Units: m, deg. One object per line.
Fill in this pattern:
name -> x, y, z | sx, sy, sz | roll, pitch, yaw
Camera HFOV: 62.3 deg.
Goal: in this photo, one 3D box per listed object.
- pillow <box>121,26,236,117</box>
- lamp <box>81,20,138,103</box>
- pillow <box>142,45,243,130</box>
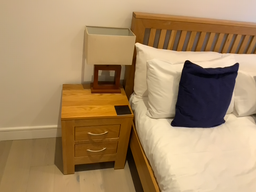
pillow -> 0.370, -0.150, 1.620 | 0.700, 0.470, 0.200 | 16, 31, -23
lamp -> -0.160, -0.230, 1.540 | 0.340, 0.540, 0.200 | 1, 34, -12
pillow -> 0.400, -0.030, 1.370 | 0.440, 0.440, 0.180 | 13, 32, -27
